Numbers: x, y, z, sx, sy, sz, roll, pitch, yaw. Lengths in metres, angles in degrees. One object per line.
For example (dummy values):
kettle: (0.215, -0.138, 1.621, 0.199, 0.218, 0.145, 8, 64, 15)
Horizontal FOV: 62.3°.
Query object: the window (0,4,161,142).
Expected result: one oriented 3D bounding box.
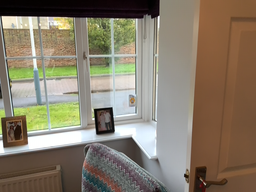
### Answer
window: (-0.930, -0.150, 1.610, 2.520, 1.010, 0.090, -4, 14, -17)
